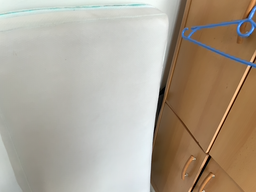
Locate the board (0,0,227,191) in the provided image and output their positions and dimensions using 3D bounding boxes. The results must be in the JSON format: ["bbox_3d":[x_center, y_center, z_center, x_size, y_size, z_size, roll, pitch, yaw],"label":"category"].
[{"bbox_3d":[-0.160,0.240,0.990,0.720,1.200,0.350,-11,42,-21],"label":"board"}]
